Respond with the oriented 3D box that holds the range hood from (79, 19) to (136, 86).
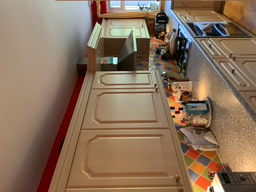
[{"bbox_3d":[-0.240,-0.670,3.000,1.070,0.640,0.590,-92,2,-58],"label":"range hood"}]
